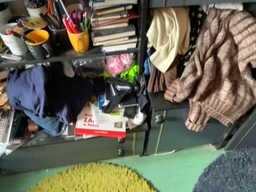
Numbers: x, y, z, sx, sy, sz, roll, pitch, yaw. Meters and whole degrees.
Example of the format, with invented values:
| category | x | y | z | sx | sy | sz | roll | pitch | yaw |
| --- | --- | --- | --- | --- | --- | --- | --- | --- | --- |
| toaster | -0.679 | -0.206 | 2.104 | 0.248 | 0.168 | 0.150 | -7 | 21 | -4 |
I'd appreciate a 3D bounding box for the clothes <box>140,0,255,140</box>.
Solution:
| category | x | y | z | sx | sy | sz | roll | pitch | yaw |
| --- | --- | --- | --- | --- | --- | --- | --- | --- | --- |
| clothes | 0.300 | -0.100 | 0.920 | 0.410 | 0.480 | 0.330 | -7 | 51 | -6 |
